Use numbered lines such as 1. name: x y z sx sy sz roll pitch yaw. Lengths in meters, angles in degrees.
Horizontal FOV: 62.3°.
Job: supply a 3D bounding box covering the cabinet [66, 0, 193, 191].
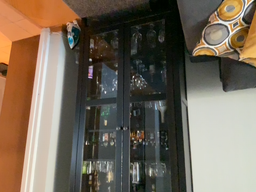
1. cabinet: 0.020 0.210 1.760 0.900 1.980 0.370 -5 165 22
